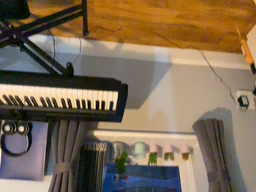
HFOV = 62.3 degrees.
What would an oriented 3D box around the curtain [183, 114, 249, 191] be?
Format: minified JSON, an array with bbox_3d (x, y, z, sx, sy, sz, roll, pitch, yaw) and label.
[{"bbox_3d":[0.510,0.750,1.050,0.240,1.370,0.160,4,149,-6],"label":"curtain"}]

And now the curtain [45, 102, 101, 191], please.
[{"bbox_3d":[-0.290,0.730,0.970,0.230,1.480,0.190,3,149,-6],"label":"curtain"}]
